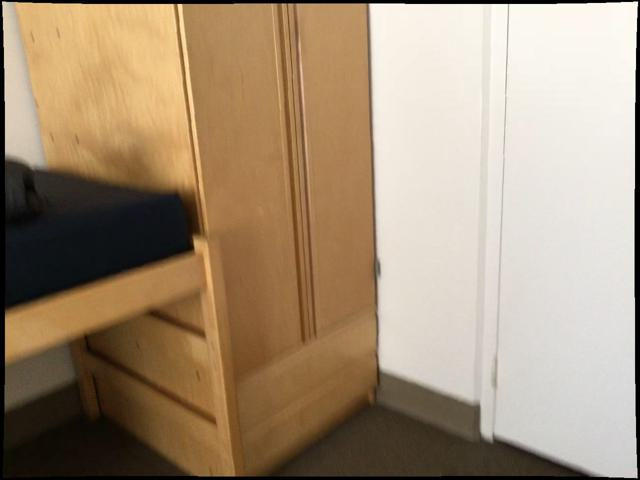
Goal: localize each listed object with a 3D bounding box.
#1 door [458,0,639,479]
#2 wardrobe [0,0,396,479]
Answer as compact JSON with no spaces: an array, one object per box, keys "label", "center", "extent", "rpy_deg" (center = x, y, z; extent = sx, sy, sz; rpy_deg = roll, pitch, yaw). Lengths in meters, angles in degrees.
[{"label":"door","center":[0.829,-0.200,1.520],"extent":[0.959,2.042,0.090],"rpy_deg":[13,25,40]},{"label":"wardrobe","center":[-0.390,-0.220,2.090],"extent":[0.999,1.852,0.810],"rpy_deg":[13,25,40]}]
